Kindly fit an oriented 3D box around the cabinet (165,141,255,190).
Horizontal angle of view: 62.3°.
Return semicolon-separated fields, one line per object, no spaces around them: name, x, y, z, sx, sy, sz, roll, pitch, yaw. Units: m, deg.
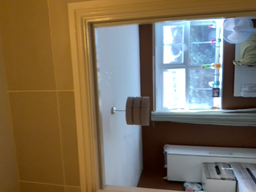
cabinet;1.590;1.200;3.740;0.450;1.820;0.600;-44;-47;-73
